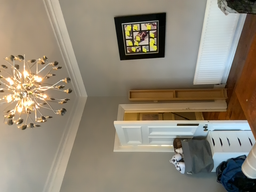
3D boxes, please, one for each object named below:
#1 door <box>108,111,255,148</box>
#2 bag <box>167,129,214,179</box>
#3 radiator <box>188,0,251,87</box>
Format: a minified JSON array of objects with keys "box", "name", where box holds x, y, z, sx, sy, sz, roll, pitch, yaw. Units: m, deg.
[{"box":[0.820,0.570,3.400,1.150,2.130,0.120,82,-171,-57],"name":"door"},{"box":[0.920,0.890,3.260,0.530,0.540,0.560,-86,-7,-47],"name":"bag"},{"box":[1.550,-0.820,3.830,1.770,0.650,0.100,84,-173,-47],"name":"radiator"}]
